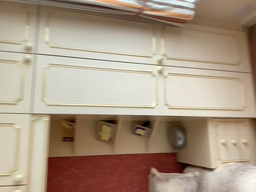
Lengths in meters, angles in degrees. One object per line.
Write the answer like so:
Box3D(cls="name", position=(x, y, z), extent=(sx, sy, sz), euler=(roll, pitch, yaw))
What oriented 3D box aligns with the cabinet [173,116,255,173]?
Box3D(cls="cabinet", position=(0.800, 0.430, 1.980), extent=(0.550, 0.520, 0.430), euler=(147, 124, -71))
